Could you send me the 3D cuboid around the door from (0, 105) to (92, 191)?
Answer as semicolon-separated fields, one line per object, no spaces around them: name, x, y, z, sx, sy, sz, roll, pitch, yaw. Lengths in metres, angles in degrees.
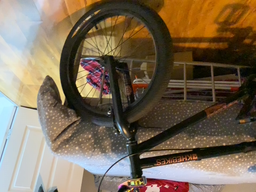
door;-0.830;1.100;1.880;0.730;2.000;0.040;17;154;-23
